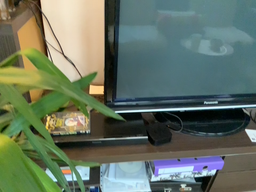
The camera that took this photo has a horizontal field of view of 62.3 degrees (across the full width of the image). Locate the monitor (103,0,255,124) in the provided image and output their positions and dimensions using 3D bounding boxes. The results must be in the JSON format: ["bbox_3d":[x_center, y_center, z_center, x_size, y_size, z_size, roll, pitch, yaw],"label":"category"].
[{"bbox_3d":[0.420,-0.180,0.900,1.040,0.680,0.040,-2,34,-10],"label":"monitor"}]
